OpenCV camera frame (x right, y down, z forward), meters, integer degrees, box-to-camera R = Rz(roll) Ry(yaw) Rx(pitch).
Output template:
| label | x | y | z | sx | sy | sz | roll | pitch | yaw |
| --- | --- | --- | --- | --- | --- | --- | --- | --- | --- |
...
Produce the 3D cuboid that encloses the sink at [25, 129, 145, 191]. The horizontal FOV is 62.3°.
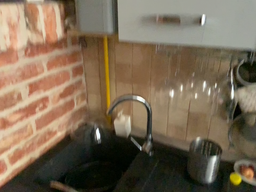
| label | x | y | z | sx | sy | sz | roll | pitch | yaw |
| --- | --- | --- | --- | --- | --- | --- | --- | --- | --- |
| sink | -0.160 | 0.370 | 0.980 | 0.330 | 0.160 | 0.440 | 11 | 26 | 23 |
